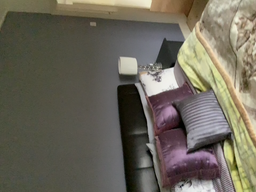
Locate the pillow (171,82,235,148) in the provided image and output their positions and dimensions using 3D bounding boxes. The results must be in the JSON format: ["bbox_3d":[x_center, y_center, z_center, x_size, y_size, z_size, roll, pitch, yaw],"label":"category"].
[{"bbox_3d":[0.470,0.120,1.370,0.140,0.270,0.360,-49,35,37],"label":"pillow"}]

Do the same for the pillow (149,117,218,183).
[{"bbox_3d":[0.360,0.370,1.430,0.180,0.360,0.330,-47,36,40],"label":"pillow"}]

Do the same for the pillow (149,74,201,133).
[{"bbox_3d":[0.360,0.060,1.670,0.150,0.320,0.370,-43,38,38],"label":"pillow"}]
